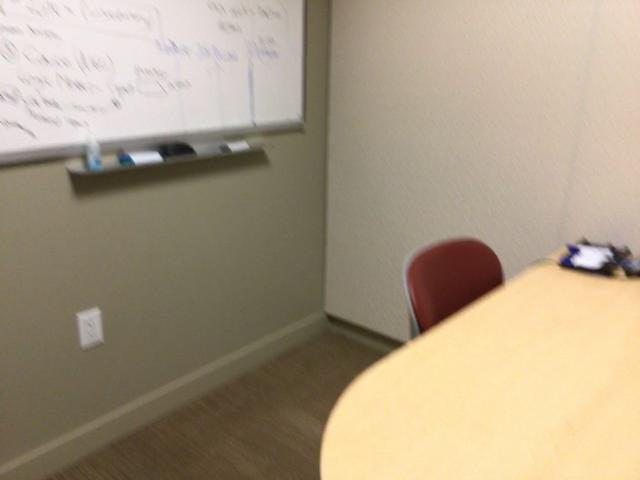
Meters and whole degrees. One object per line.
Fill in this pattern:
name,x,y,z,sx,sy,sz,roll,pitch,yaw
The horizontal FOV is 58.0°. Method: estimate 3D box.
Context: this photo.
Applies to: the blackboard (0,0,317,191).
blackboard,-0.440,-0.690,1.750,0.070,0.920,1.200,17,23,39
